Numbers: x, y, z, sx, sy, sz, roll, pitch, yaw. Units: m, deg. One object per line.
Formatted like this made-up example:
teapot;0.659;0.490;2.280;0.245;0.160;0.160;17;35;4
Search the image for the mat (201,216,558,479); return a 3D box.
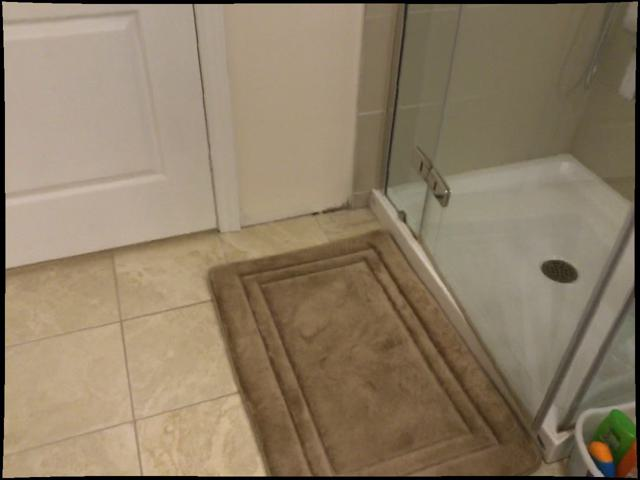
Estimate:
mat;0.080;0.280;1.540;0.619;0.080;0.910;-10;41;-17
